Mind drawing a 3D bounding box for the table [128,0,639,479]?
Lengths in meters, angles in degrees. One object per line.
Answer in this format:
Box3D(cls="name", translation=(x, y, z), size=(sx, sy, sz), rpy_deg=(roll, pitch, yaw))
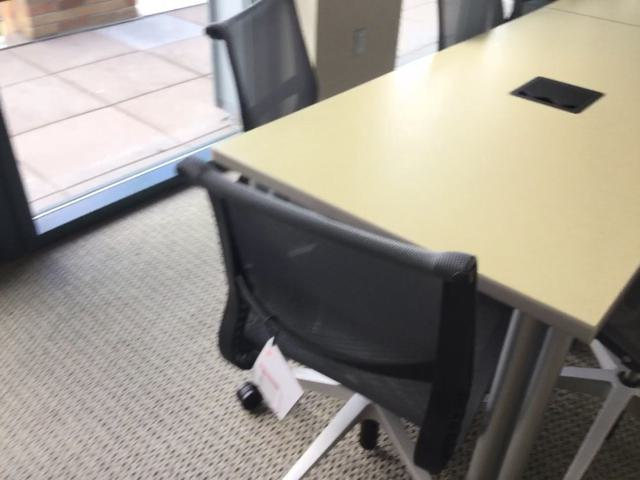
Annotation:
Box3D(cls="table", translation=(1.030, -0.430, 2.020), size=(3.090, 0.800, 0.910), rpy_deg=(-31, 46, -34))
